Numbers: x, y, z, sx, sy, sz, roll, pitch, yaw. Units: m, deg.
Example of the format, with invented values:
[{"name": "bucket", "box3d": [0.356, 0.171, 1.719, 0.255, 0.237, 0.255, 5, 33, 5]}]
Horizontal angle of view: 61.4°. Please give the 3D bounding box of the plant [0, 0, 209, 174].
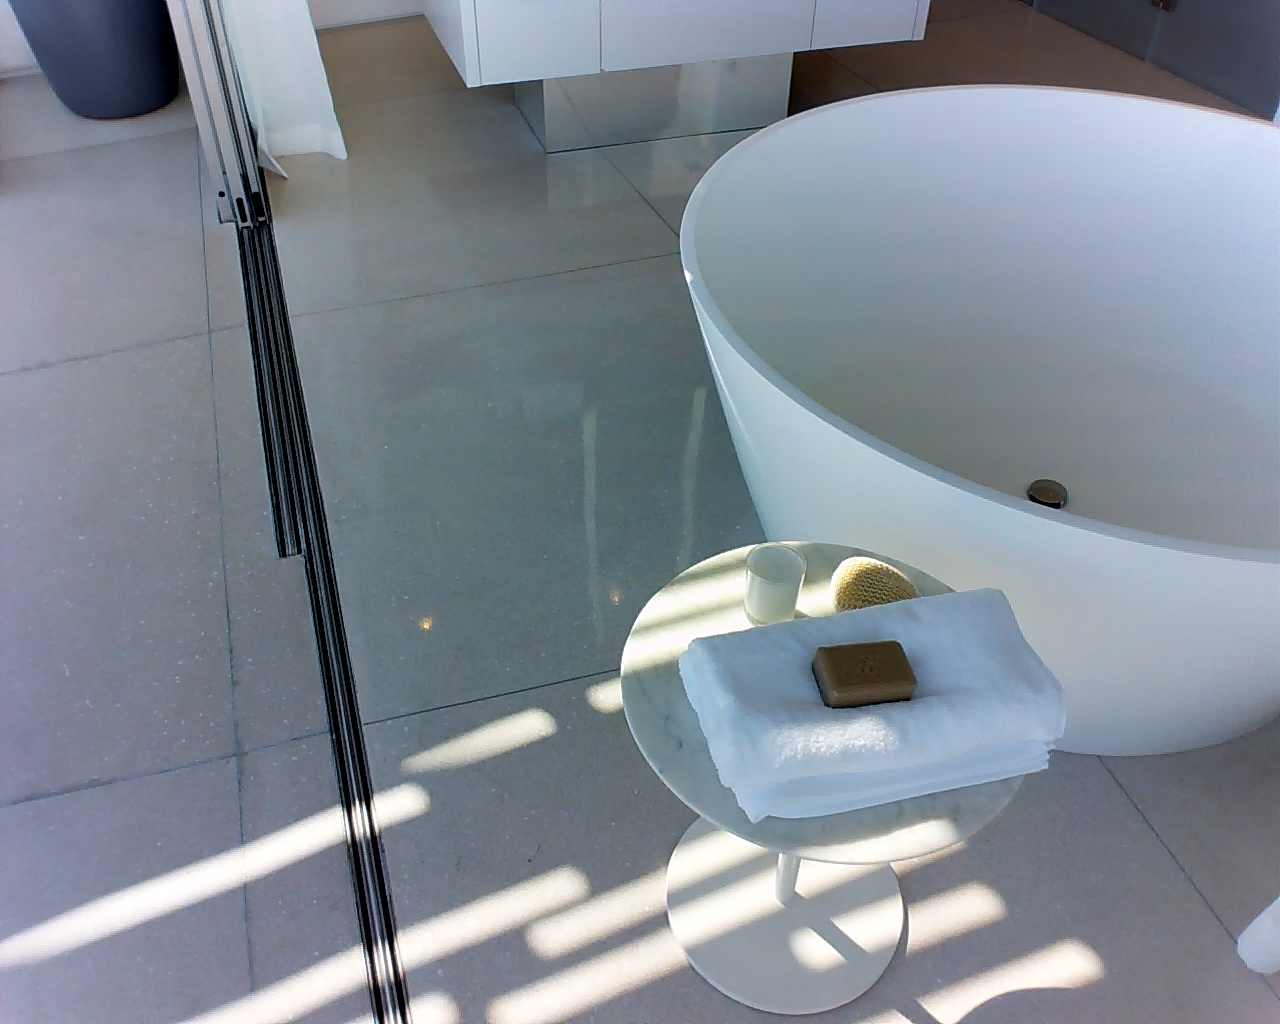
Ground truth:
[{"name": "plant", "box3d": [-1.980, -1.810, 3.650, 0.690, 0.980, 0.750, -14, 44, -17]}]
